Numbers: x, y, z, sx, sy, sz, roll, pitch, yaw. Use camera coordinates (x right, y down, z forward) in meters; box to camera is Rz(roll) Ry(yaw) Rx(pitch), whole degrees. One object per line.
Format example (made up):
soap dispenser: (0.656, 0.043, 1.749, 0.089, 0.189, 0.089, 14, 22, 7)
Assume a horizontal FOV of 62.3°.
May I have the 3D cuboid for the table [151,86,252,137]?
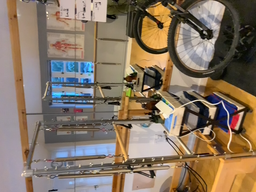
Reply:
table: (0.670, 0.120, 2.040, 0.450, 0.750, 0.300, -124, 37, -63)
